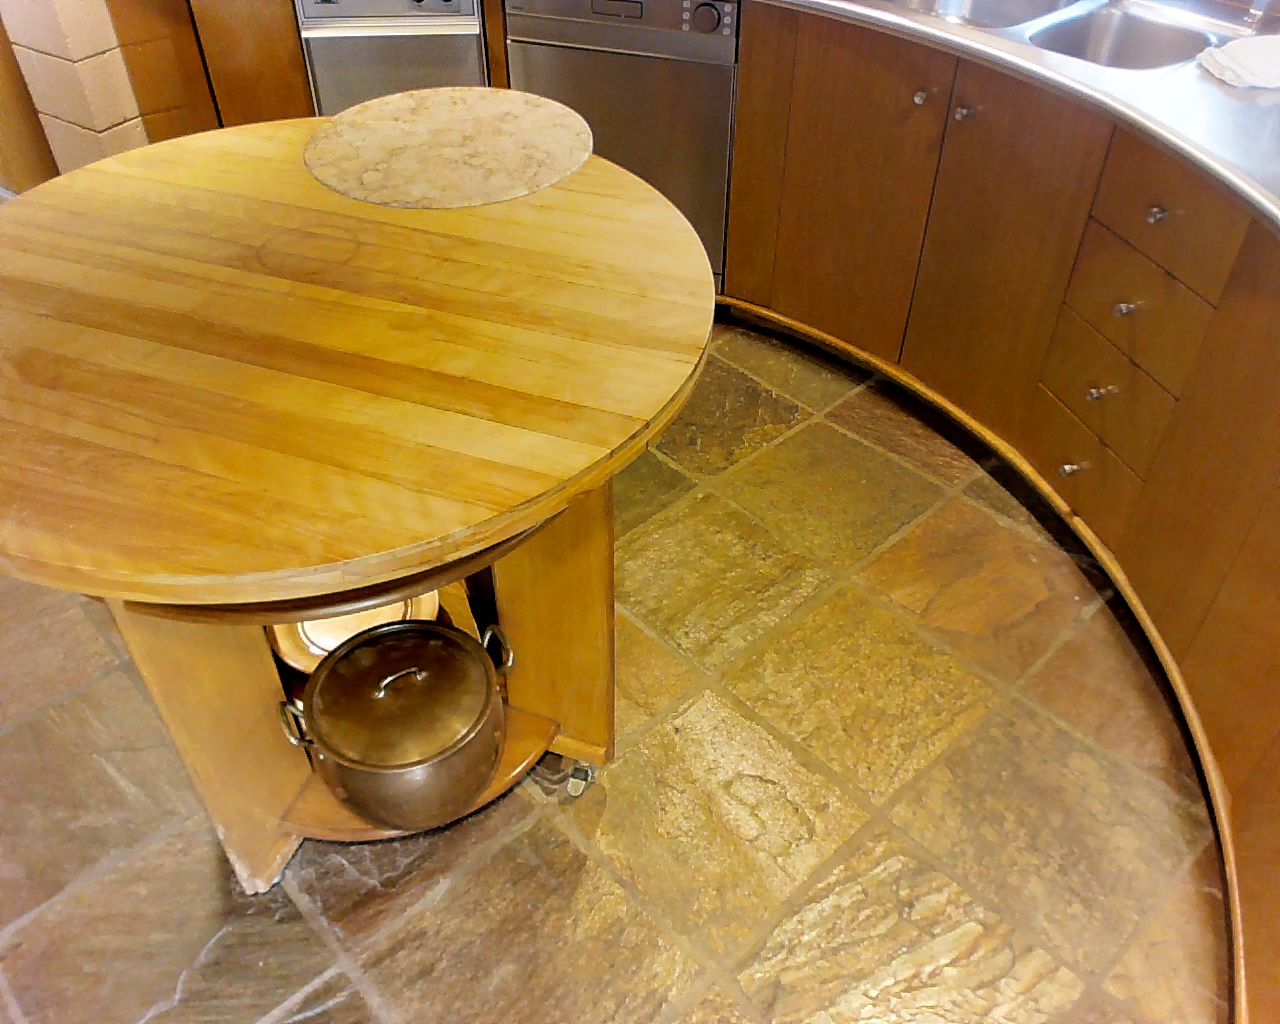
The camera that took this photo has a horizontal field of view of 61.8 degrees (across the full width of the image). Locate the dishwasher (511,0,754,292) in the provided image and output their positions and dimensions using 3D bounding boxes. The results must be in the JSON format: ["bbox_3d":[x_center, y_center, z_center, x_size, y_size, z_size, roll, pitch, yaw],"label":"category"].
[{"bbox_3d":[-0.030,-0.980,2.790,0.610,0.760,0.050,15,44,16],"label":"dishwasher"}]
